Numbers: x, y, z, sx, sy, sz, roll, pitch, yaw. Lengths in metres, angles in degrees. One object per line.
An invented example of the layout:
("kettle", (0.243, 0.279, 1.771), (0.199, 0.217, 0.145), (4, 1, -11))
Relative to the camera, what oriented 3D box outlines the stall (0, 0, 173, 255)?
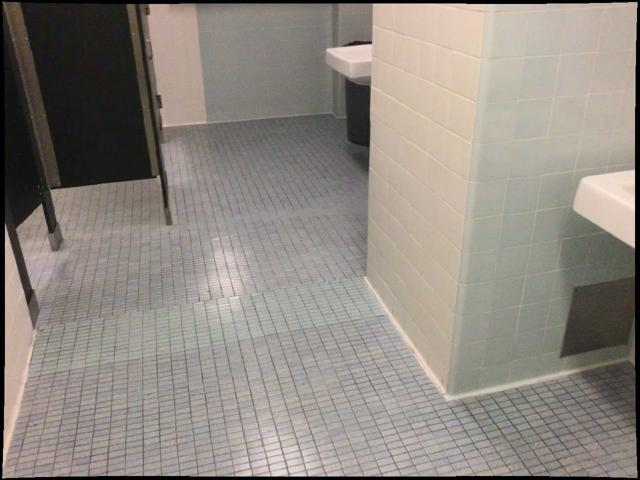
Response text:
("stall", (-1.187, -0.602, 2.920), (0.649, 1.273, 0.270), (-10, 28, -15))
